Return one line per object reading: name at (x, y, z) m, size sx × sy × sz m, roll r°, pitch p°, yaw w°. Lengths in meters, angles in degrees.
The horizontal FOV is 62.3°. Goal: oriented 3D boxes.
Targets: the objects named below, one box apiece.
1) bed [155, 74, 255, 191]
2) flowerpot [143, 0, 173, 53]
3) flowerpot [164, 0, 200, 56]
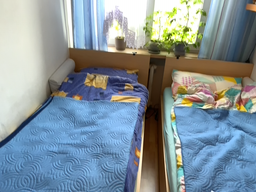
bed at (0.750, 0.490, 1.750) m, size 0.940 × 0.570 × 2.140 m, roll 6°, pitch 26°, yaw 3°
flowerpot at (0.340, -0.810, 2.470) m, size 0.260 × 0.560 × 0.150 m, roll 3°, pitch 26°, yaw -2°
flowerpot at (0.610, -0.800, 2.450) m, size 0.270 × 0.620 × 0.170 m, roll 4°, pitch 26°, yaw 0°
